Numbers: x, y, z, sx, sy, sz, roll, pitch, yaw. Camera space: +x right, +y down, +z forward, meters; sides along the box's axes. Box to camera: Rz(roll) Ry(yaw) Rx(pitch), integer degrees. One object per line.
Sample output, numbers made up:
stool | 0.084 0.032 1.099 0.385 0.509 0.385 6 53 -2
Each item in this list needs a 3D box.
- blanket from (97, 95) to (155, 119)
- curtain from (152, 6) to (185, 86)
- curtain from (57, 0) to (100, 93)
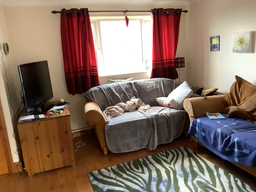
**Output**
blanket | -0.030 0.160 3.380 0.840 0.180 0.330 -8 14 -20
curtain | 0.790 -0.950 4.130 0.490 1.430 0.350 -7 13 -16
curtain | -0.830 -0.850 3.590 0.530 1.510 0.330 -7 13 -16
